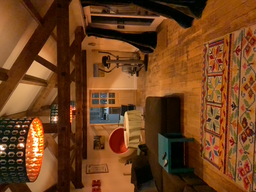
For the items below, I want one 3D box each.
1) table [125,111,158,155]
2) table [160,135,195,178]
[{"bbox_3d":[0.360,1.020,6.250,1.060,0.750,1.090,-176,86,-82],"label":"table"},{"bbox_3d":[0.840,1.030,3.720,0.590,0.410,0.560,-176,86,-82],"label":"table"}]
